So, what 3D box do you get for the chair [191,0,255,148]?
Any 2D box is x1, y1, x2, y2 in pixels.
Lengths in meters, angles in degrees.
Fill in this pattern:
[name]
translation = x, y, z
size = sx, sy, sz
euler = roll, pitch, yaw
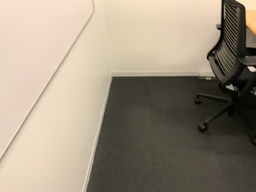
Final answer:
[chair]
translation = 0.990, -0.250, 1.690
size = 0.750, 1.050, 0.810
euler = 2, 39, 8
